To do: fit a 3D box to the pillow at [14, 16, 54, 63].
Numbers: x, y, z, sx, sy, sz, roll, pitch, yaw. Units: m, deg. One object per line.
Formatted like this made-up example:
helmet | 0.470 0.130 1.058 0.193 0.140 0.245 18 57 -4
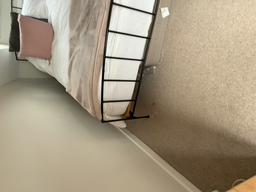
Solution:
pillow | -1.110 -0.670 2.510 0.190 0.390 0.470 19 111 18
